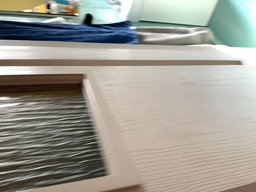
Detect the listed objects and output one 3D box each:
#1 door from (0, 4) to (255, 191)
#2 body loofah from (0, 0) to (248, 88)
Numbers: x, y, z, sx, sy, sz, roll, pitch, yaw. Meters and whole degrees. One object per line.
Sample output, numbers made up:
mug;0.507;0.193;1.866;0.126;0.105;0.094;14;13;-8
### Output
door;0.210;0.010;0.560;0.900;2.020;0.210;-122;35;-51
body loofah;-0.020;-0.330;1.280;0.520;1.390;0.230;-114;29;-42
